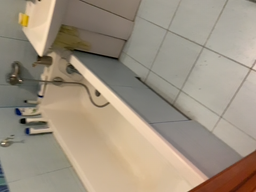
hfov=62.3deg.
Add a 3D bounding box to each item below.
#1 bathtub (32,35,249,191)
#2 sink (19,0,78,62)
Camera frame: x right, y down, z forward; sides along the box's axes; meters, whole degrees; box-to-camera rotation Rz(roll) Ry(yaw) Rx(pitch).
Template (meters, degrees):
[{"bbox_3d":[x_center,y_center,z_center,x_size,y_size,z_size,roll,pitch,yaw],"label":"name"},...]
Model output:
[{"bbox_3d":[-0.110,0.210,1.620,1.570,0.570,0.700,41,118,36],"label":"bathtub"},{"bbox_3d":[-0.550,-0.610,1.470,0.400,0.170,0.610,40,117,37],"label":"sink"}]
